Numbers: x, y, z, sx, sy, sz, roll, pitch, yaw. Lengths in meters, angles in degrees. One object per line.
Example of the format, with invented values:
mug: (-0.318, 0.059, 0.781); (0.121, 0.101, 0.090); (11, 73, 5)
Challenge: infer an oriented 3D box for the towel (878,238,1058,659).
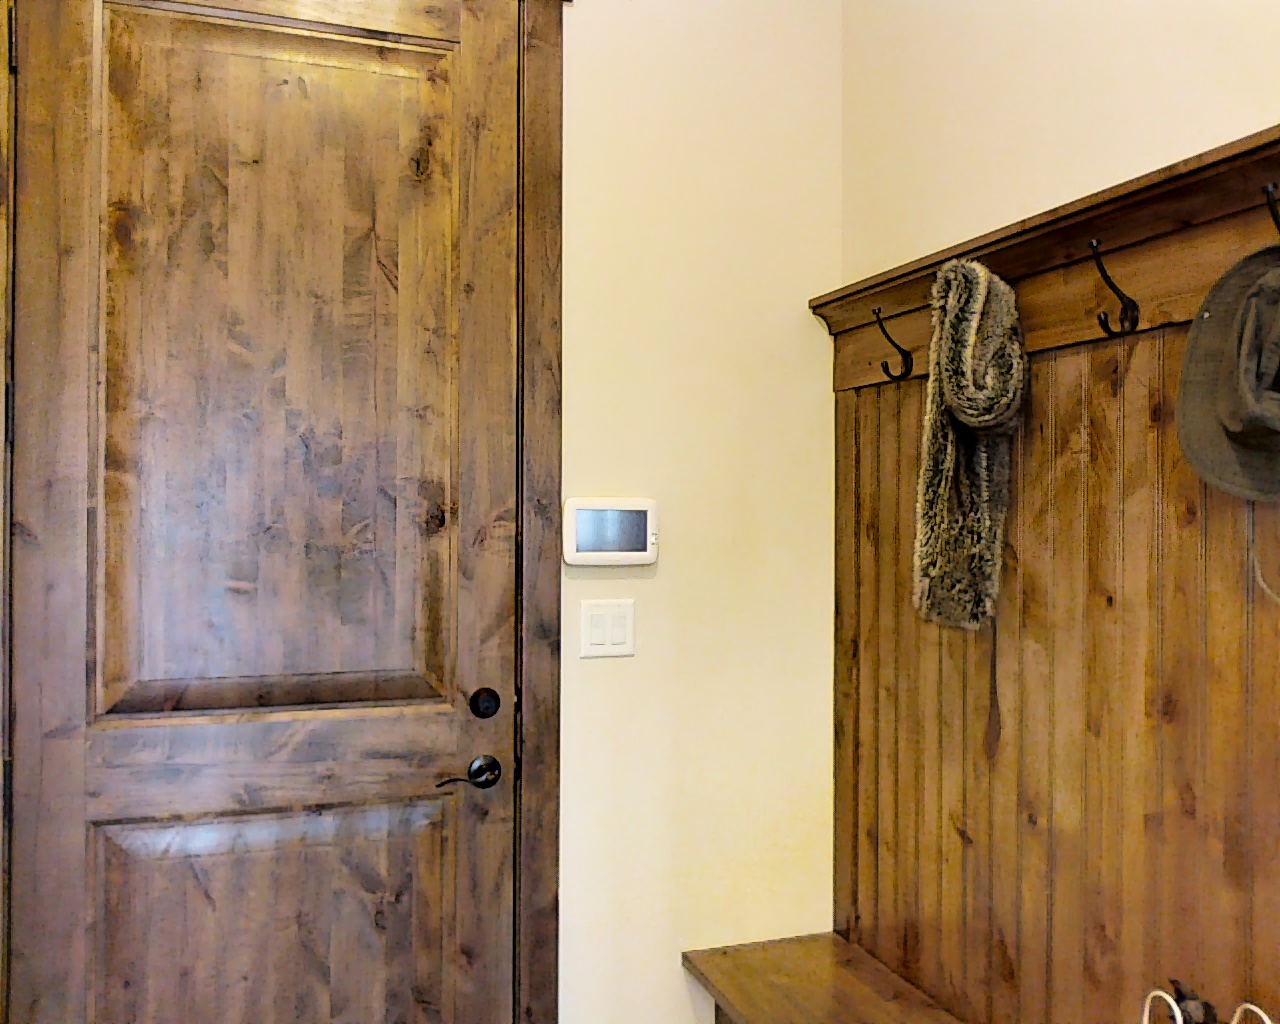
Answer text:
towel: (0.560, -0.100, 1.850); (0.180, 0.670, 0.250); (1, -1, -20)
